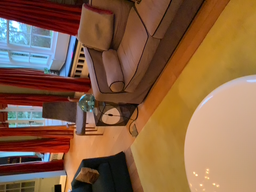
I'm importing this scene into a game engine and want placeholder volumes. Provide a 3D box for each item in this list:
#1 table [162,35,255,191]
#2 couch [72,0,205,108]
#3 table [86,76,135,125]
[{"bbox_3d":[0.750,0.390,1.270,1.060,0.270,1.000,-62,36,40],"label":"table"},{"bbox_3d":[0.150,-1.220,2.090,2.790,0.740,1.150,-62,36,40],"label":"couch"},{"bbox_3d":[-0.280,0.080,3.090,0.480,0.480,0.500,-62,36,40],"label":"table"}]
